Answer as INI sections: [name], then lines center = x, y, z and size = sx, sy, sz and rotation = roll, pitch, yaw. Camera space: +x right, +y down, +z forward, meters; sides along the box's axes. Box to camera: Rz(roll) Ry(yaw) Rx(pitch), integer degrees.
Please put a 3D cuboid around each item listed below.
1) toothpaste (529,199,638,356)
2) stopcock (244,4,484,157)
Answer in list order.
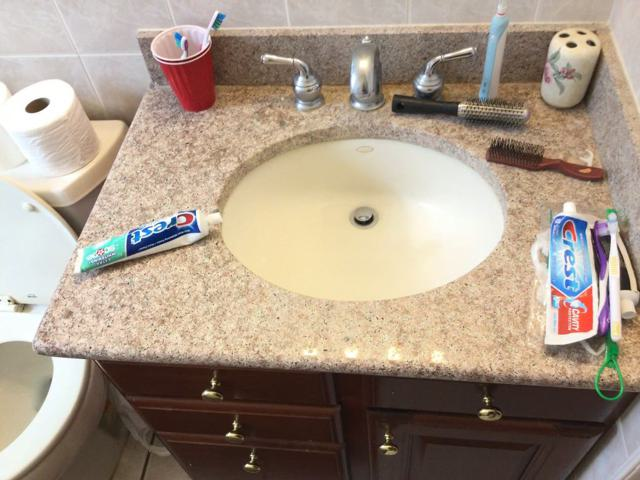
[toothpaste]
center = 0.320, 0.040, 0.720
size = 0.080, 0.050, 0.200
rotation = 2, 51, 7
[stopcock]
center = 0.070, -0.250, 0.910
size = 0.330, 0.150, 0.180
rotation = 1, 51, 6
